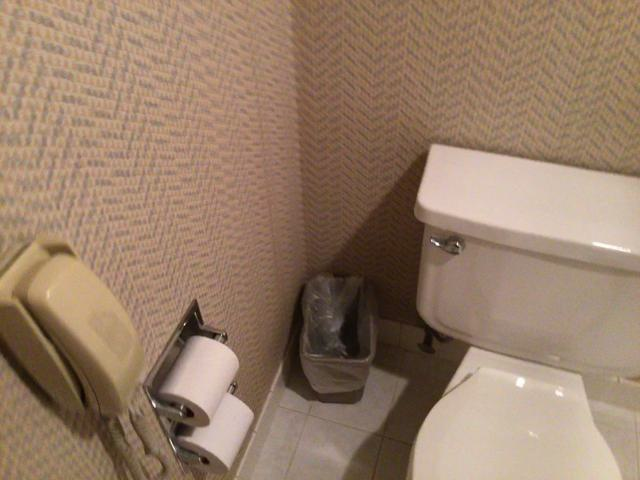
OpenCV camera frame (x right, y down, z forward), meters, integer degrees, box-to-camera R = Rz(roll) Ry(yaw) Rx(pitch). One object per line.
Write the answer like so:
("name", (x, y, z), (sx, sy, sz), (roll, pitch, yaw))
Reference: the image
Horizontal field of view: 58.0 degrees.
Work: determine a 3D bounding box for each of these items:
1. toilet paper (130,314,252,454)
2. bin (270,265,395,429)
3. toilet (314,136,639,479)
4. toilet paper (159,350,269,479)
("toilet paper", (-0.190, 0.220, 0.890), (0.110, 0.130, 0.140), (12, 48, 14))
("bin", (0.040, 0.270, 1.470), (0.230, 0.270, 0.260), (12, 48, 14))
("toilet", (0.360, 0.360, 1.080), (0.530, 0.730, 0.740), (12, 48, 14))
("toilet paper", (-0.170, 0.310, 0.980), (0.100, 0.180, 0.150), (12, 48, 14))
